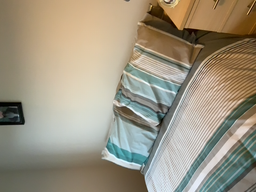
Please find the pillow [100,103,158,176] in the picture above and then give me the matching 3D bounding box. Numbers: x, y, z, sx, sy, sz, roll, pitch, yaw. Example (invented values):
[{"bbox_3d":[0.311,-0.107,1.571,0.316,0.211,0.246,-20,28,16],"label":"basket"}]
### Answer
[{"bbox_3d":[-0.010,0.420,1.980,0.180,0.350,0.680,44,135,29],"label":"pillow"}]
